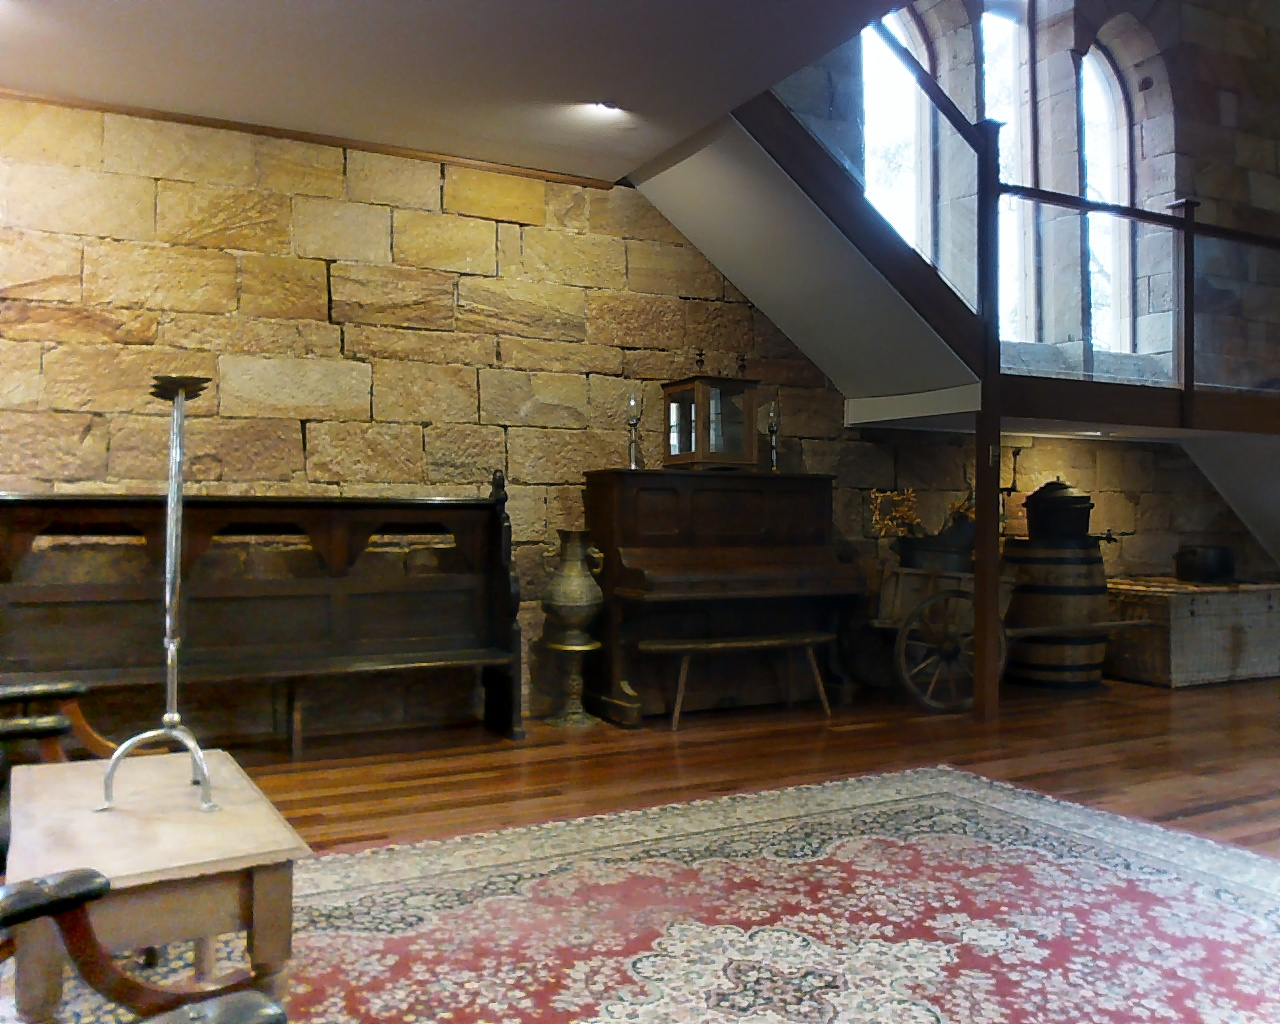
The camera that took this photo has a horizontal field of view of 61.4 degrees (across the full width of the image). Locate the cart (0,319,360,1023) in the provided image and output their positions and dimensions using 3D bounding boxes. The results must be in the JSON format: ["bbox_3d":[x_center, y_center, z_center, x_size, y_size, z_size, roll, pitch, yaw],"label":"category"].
[{"bbox_3d":[-0.910,0.460,1.500,0.970,1.331,0.830,1,0,-16],"label":"cart"}]
